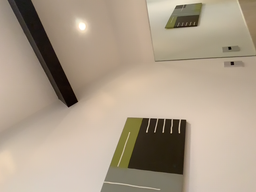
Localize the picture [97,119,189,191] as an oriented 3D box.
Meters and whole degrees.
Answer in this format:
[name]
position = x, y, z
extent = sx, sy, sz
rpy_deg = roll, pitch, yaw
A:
[picture]
position = 0.060, 0.450, 1.020
extent = 0.880, 0.400, 0.060
rpy_deg = -67, -30, -47
